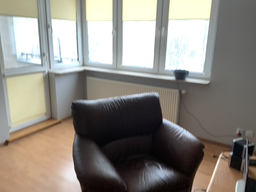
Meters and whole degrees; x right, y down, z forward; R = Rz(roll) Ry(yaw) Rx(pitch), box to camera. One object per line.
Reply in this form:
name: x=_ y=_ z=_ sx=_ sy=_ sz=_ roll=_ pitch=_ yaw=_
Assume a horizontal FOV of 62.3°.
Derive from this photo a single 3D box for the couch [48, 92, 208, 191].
couch: x=-0.040 y=0.580 z=2.010 sx=1.120 sy=0.940 sz=0.950 roll=-10 pitch=16 yaw=-26
